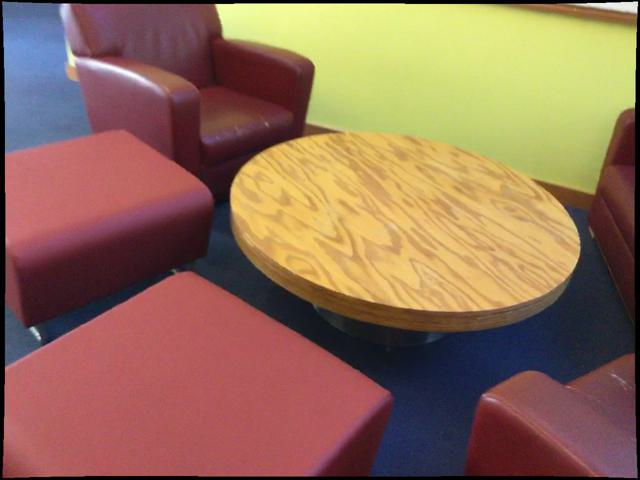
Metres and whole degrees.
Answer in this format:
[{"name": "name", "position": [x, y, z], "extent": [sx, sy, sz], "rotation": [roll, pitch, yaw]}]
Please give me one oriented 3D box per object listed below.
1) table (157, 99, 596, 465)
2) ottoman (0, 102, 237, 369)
[{"name": "table", "position": [0.290, -0.010, 2.140], "extent": [1.209, 0.420, 1.200], "rotation": [16, 37, 18]}, {"name": "ottoman", "position": [-0.799, -0.080, 2.040], "extent": [0.730, 0.460, 0.690], "rotation": [-24, 43, -34]}]
